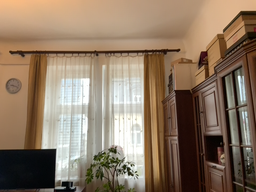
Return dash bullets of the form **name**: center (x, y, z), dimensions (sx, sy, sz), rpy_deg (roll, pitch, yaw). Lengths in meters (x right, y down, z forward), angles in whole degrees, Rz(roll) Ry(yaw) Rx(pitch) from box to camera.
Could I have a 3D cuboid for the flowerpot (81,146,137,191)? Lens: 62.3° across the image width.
- **flowerpot**: center (-0.250, 1.450, 3.170), dimensions (0.730, 1.300, 0.880), rpy_deg (-1, -10, -1)
